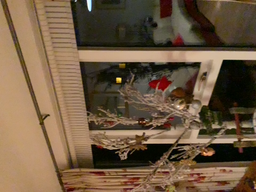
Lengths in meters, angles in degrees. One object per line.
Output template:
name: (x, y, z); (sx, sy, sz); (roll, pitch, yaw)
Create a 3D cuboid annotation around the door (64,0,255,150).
door: (0.560, -0.080, 1.750); (0.080, 1.900, 1.600); (-94, 4, -49)
